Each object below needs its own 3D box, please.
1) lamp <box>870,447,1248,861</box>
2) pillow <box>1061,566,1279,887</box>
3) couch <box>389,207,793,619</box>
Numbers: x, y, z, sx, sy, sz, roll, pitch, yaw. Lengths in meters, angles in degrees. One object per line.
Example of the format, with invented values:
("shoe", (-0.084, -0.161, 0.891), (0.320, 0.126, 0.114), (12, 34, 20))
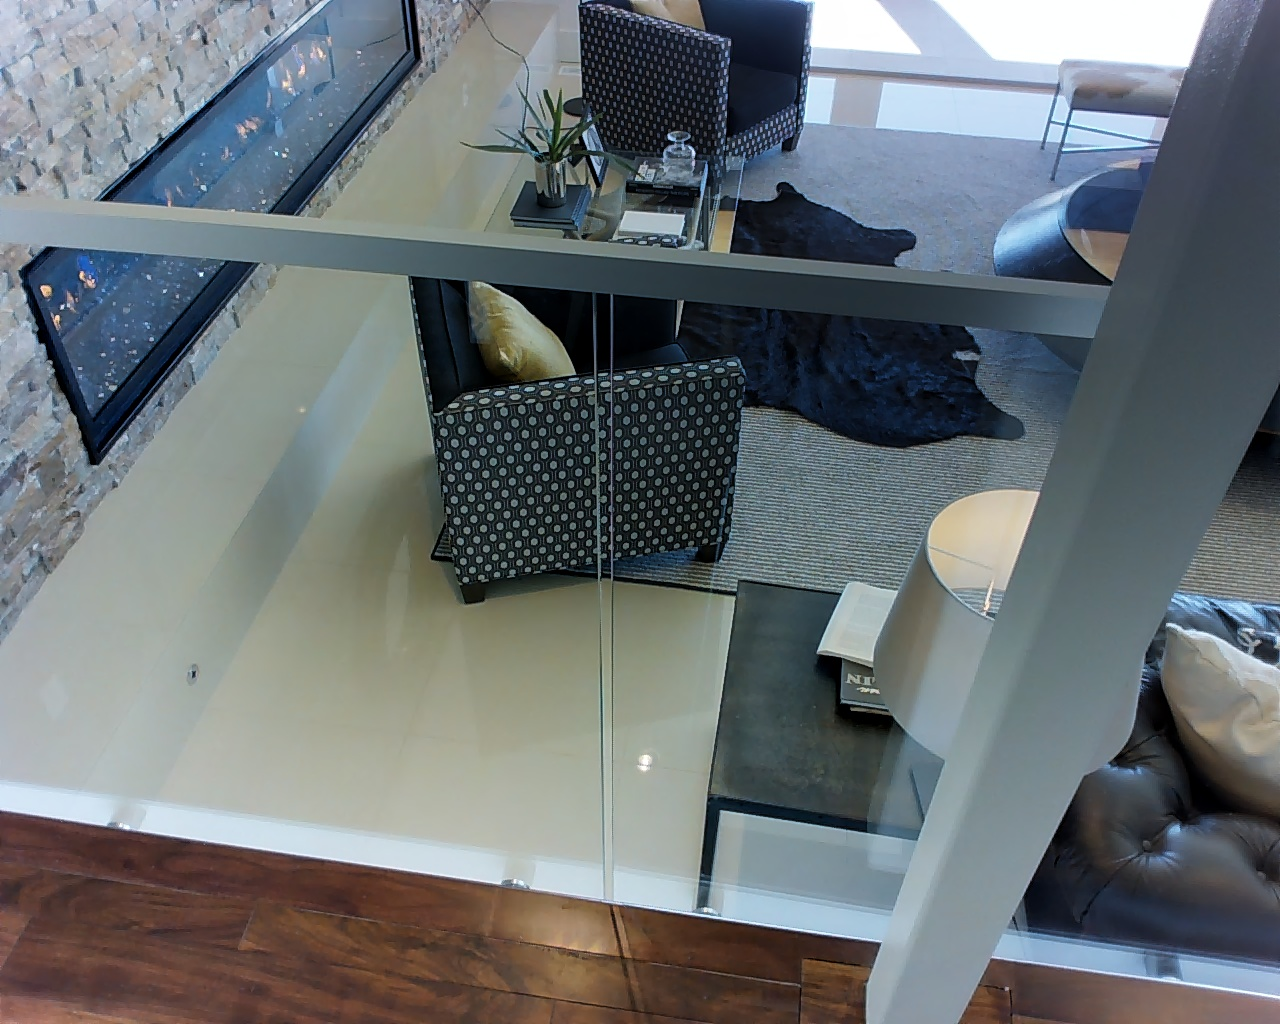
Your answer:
("lamp", (0.670, 0.240, 1.880), (0.450, 0.470, 0.480), (6, 42, 6))
("pillow", (1.270, 0.470, 2.170), (0.320, 0.560, 0.560), (-48, 32, -16))
("couch", (-0.190, -0.340, 3.400), (1.010, 0.810, 0.880), (-9, 43, -11))
